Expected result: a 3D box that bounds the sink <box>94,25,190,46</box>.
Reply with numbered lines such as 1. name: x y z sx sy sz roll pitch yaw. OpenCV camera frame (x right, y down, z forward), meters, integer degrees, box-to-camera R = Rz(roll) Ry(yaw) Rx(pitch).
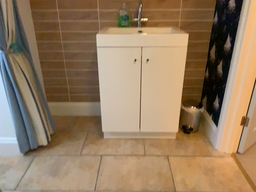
1. sink: 0.090 -0.460 1.580 0.610 0.080 0.470 0 25 0
